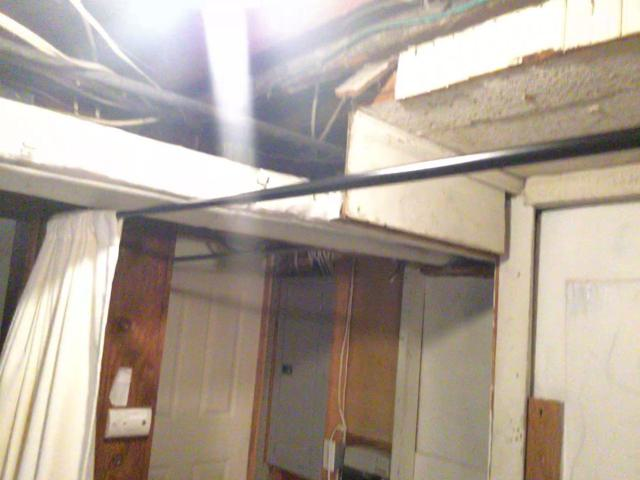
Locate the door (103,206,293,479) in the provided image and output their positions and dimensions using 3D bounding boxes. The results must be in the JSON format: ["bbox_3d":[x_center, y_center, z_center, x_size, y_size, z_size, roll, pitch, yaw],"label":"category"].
[{"bbox_3d":[-0.540,0.930,2.520,0.270,2.040,0.690,-4,-12,44],"label":"door"}]
